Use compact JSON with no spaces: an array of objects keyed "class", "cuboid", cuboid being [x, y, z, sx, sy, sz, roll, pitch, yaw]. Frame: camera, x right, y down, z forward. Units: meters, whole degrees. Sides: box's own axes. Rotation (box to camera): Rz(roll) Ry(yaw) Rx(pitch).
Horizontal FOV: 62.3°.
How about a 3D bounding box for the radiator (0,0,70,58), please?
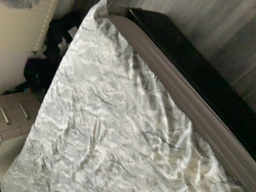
[{"class":"radiator","cuboid":[-0.710,-0.700,1.550,0.100,0.550,1.060,54,129,16]}]
